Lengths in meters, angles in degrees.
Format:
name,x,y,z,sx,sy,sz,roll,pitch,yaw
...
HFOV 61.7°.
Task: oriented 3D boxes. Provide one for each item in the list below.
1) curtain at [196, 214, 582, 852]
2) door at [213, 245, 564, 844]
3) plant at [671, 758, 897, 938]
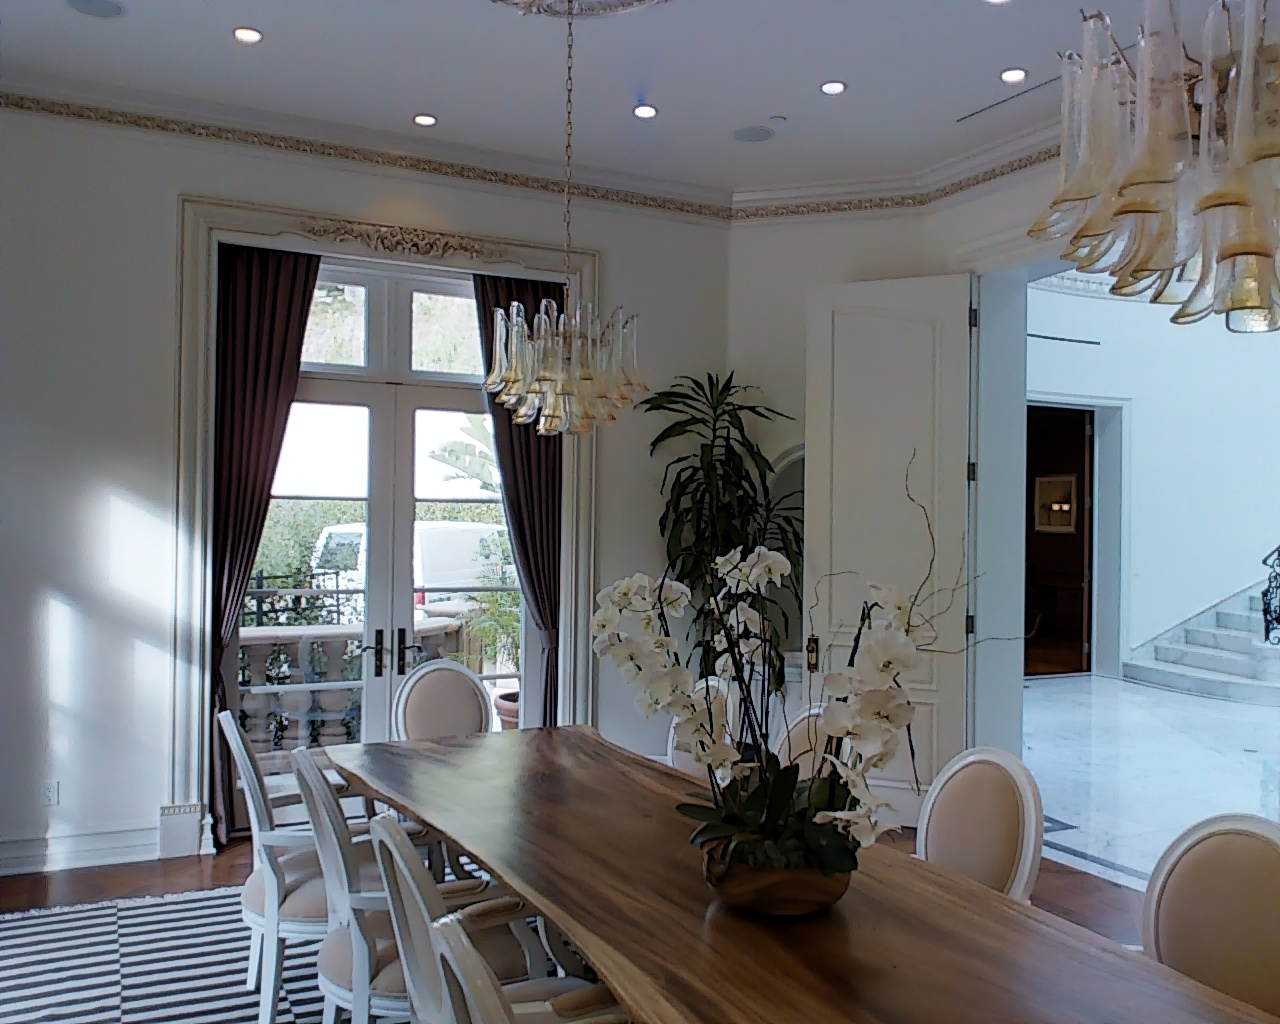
name,x,y,z,sx,sy,sz,roll,pitch,yaw
curtain,-1.330,0.120,5.890,1.970,3.141,0.380,1,-1,-26
door,-1.360,0.180,5.980,1.820,3.031,0.340,1,-1,-26
plant,0.340,0.780,2.560,0.370,0.270,0.380,2,-1,-39
